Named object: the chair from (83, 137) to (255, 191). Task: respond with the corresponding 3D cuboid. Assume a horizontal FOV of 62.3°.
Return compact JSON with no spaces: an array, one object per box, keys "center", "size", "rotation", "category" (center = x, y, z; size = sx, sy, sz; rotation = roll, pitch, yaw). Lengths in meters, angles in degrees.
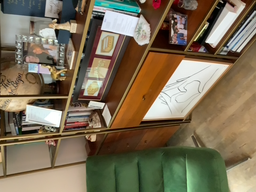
[{"center":[0.260,0.630,1.480],"size":[0.800,0.920,0.550],"rotation":[-16,77,61],"category":"chair"}]
